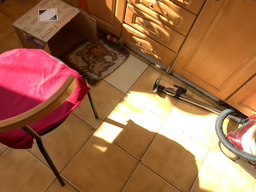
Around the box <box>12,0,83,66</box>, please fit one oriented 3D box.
[{"bbox_3d":[-0.490,-0.440,1.370,0.240,0.270,0.320,31,61,9],"label":"box"}]

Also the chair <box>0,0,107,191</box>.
[{"bbox_3d":[-0.420,0.030,0.870,0.460,0.690,0.440,31,61,9],"label":"chair"}]
